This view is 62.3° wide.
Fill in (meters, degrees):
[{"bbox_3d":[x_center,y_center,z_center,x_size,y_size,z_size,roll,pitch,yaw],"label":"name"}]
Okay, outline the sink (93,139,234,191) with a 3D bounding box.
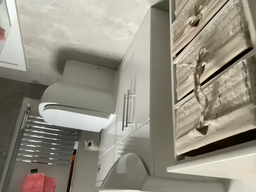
[{"bbox_3d":[0.100,0.370,0.970,0.420,0.170,0.550,11,153,-15],"label":"sink"}]
